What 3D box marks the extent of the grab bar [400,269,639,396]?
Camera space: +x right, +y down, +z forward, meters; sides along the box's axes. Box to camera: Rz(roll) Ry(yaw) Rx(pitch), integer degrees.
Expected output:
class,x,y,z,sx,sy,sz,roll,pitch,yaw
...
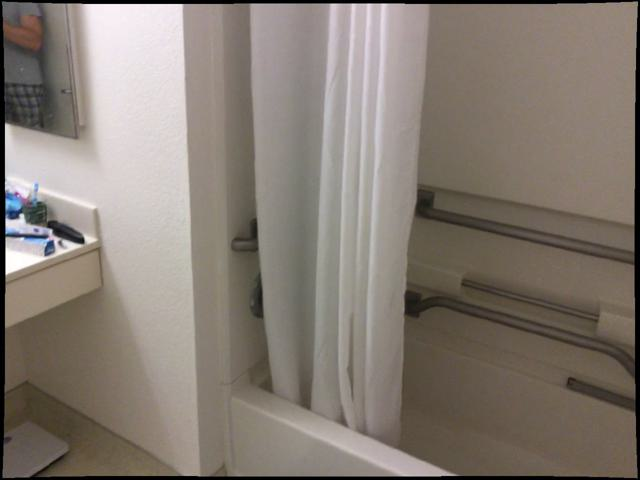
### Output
class,x,y,z,sx,sy,sz,roll,pitch,yaw
grab bar,0.699,0.300,1.970,0.849,0.140,0.130,16,25,27

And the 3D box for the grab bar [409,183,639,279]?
class,x,y,z,sx,sy,sz,roll,pitch,yaw
grab bar,0.709,-0.030,1.870,0.849,0.110,0.110,16,25,27

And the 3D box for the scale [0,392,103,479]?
class,x,y,z,sx,sy,sz,roll,pitch,yaw
scale,-1.049,0.721,2.020,0.380,0.050,0.390,16,25,27
